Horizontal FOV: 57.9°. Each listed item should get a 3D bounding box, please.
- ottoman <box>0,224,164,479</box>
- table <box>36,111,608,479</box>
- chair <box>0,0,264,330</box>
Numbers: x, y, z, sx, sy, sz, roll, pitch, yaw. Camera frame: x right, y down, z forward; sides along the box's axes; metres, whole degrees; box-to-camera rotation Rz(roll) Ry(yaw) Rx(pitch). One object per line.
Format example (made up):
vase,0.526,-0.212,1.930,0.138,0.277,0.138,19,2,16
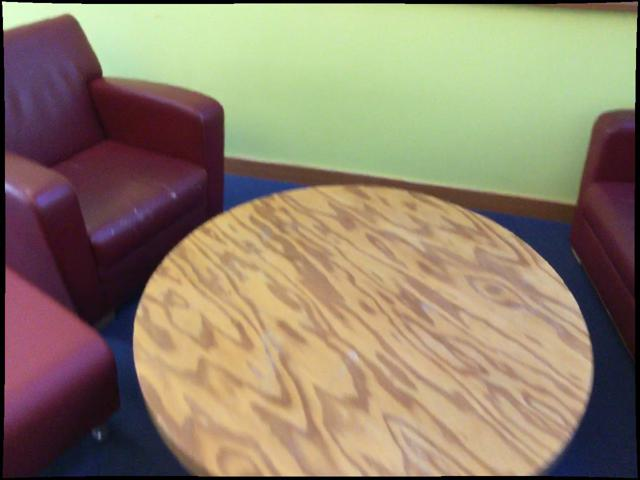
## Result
ottoman,-0.979,0.410,1.520,0.710,0.500,0.720,31,56,30
table,0.120,0.300,1.750,1.249,0.440,1.231,14,52,6
chair,-0.879,-0.340,2.150,0.810,0.730,0.860,18,55,33
